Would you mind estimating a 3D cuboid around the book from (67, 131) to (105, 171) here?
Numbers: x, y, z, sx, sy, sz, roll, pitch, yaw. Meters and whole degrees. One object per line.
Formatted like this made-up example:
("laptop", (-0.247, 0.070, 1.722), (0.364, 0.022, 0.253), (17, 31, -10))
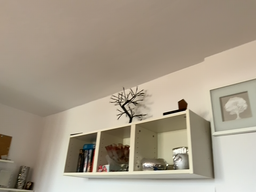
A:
("book", (-0.380, 0.510, 1.940), (0.260, 0.310, 0.190), (-19, -33, 41))
